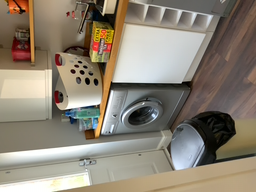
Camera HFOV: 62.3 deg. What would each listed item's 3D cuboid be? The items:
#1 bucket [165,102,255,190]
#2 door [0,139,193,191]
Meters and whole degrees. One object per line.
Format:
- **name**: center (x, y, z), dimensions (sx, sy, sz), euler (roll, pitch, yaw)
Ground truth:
- **bucket**: center (0.620, 0.260, 1.250), dimensions (0.300, 0.670, 0.320), euler (-119, 35, -48)
- **door**: center (-0.350, 0.880, 1.880), dimensions (0.930, 1.970, 0.130), euler (-117, 34, -46)
